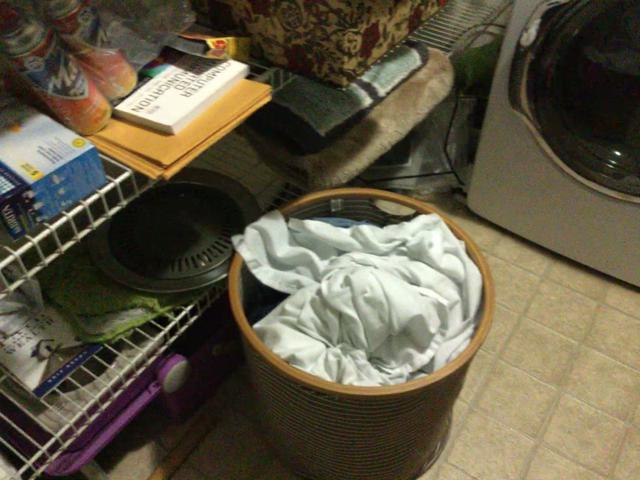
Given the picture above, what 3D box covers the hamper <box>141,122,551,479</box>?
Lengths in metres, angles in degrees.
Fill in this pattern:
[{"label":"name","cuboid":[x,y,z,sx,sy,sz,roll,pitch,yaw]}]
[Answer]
[{"label":"hamper","cuboid":[0.060,0.180,1.130,0.480,0.510,0.490,27,52,24]}]
